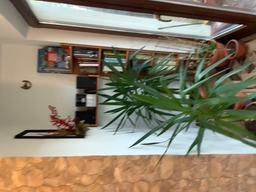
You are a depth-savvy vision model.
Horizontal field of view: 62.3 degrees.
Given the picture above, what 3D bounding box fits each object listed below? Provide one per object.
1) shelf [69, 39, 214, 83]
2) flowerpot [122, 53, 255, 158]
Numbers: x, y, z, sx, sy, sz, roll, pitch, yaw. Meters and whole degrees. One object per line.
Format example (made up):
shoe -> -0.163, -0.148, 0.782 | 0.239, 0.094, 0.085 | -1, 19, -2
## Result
shelf -> 0.180, -0.390, 2.600 | 0.360, 1.710, 0.350 | 177, 95, -77
flowerpot -> 0.640, 0.080, 2.060 | 1.360, 1.140, 0.630 | 180, 92, -77
